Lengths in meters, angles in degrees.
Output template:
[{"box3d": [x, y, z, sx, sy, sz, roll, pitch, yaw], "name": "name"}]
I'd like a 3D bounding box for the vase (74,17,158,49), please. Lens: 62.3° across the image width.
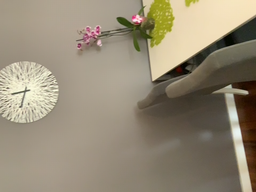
[{"box3d": [-0.100, -0.480, 1.660, 0.240, 0.610, 0.150, 154, 112, -74], "name": "vase"}]
